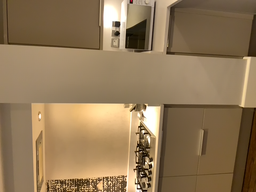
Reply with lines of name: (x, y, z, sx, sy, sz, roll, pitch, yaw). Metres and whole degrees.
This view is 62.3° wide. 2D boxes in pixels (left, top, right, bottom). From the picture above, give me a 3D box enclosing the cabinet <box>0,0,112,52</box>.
cabinet: (-0.580, -0.730, 1.830, 0.370, 0.840, 0.630, -135, 47, -74)
